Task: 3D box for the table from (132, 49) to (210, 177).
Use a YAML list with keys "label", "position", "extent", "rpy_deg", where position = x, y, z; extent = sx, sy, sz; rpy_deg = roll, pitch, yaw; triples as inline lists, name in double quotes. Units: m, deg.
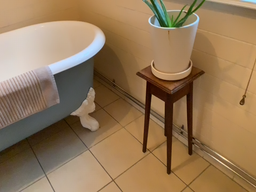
- label: "table"
  position: [0.220, 0.110, 1.180]
  extent: [0.250, 0.630, 0.260]
  rpy_deg: [-31, 45, -29]
